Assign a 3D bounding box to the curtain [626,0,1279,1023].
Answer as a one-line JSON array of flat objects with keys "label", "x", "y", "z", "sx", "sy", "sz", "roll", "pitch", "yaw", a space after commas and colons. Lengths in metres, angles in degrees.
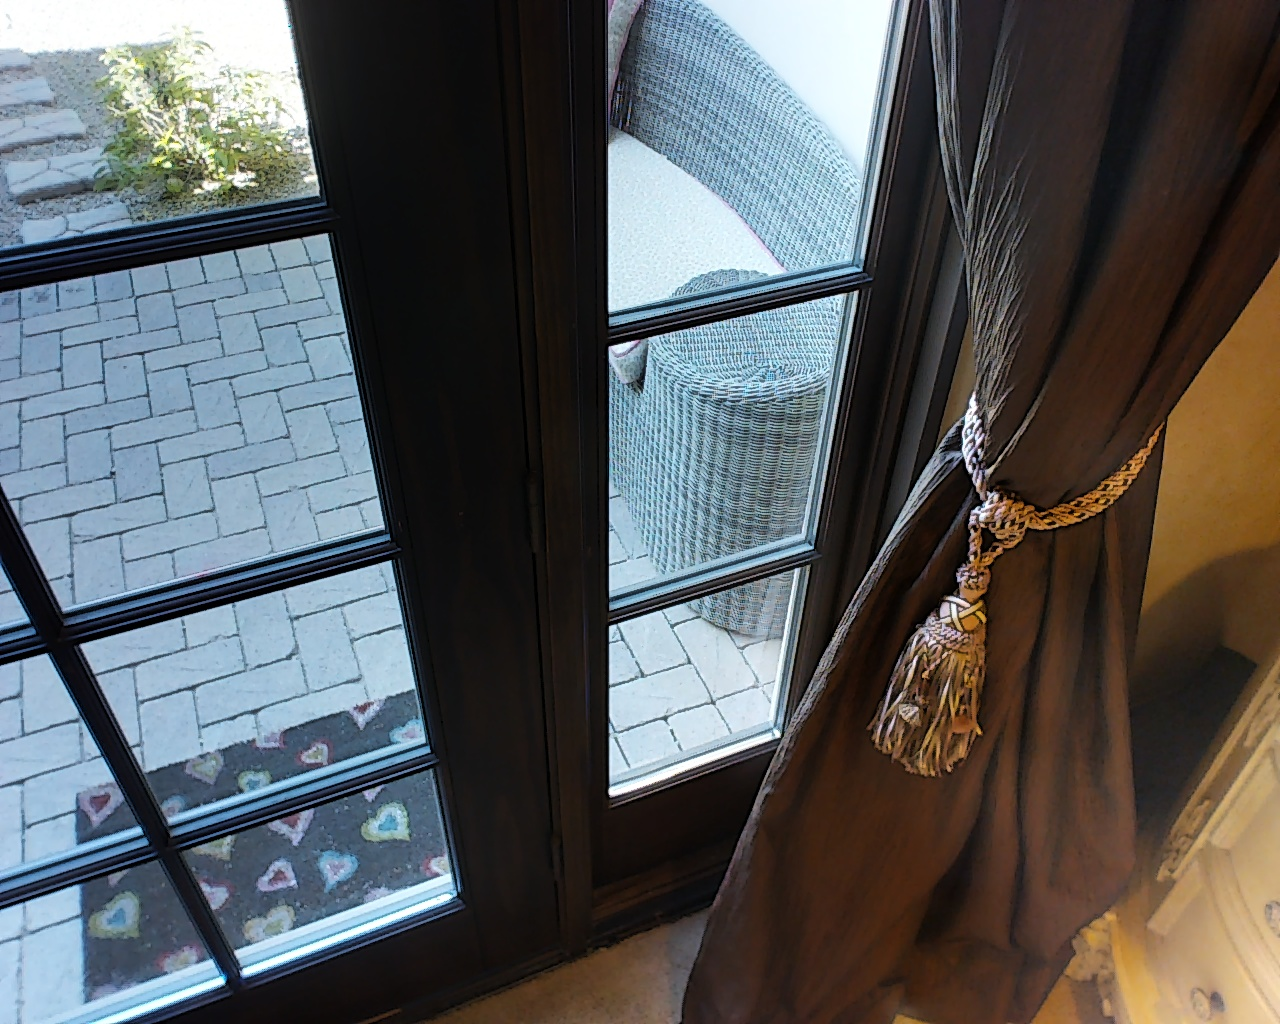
[{"label": "curtain", "x": 0.500, "y": -0.150, "z": 0.760, "sx": 0.930, "sy": 2.470, "sz": 0.320, "roll": -17, "pitch": 45, "yaw": -20}]
